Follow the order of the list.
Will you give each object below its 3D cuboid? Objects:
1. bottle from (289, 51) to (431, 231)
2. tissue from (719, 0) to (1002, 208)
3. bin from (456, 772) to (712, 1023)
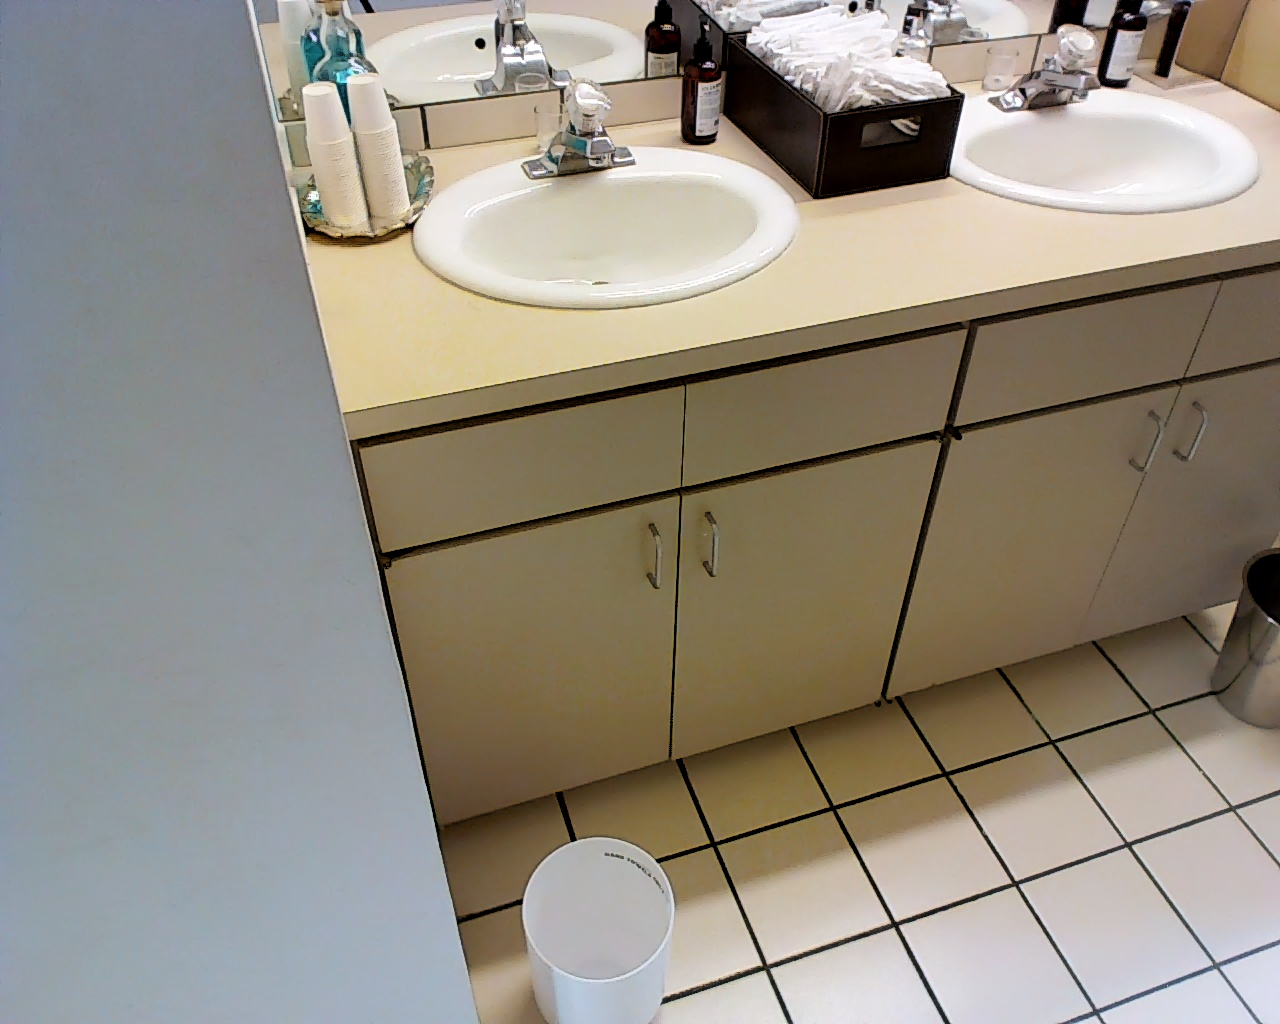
[{"bbox_3d":[-0.360,-0.480,1.390,0.140,0.170,0.130,-11,44,-12],"label":"bottle"},{"bbox_3d":[0.300,-0.620,1.560,0.250,0.180,0.350,-12,44,-14],"label":"tissue"},{"bbox_3d":[-0.080,0.570,1.450,0.260,0.260,0.270,-12,44,-14],"label":"bin"}]
